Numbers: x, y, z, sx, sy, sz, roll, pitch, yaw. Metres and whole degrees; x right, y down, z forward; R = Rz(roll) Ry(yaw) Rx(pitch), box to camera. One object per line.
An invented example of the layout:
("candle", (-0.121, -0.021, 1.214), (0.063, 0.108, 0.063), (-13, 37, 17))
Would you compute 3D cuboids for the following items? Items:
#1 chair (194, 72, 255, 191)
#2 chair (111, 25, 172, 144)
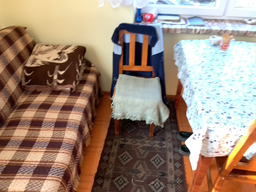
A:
("chair", (0.690, 0.370, 1.270), (0.370, 0.870, 0.450), (8, 36, 8))
("chair", (0.080, -0.110, 1.930), (0.410, 0.850, 0.660), (2, 36, -1))
